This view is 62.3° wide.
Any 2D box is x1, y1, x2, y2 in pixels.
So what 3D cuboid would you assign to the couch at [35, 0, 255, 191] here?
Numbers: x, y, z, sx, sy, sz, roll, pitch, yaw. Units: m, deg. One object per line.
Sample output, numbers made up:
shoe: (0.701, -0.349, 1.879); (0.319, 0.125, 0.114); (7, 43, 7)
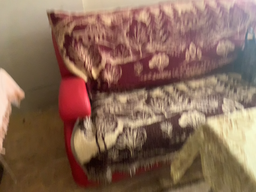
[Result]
couch: (0.440, -0.200, 1.610); (1.850, 0.920, 1.160); (-12, 37, -11)
